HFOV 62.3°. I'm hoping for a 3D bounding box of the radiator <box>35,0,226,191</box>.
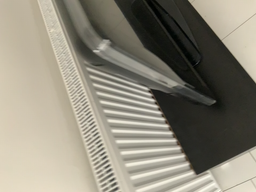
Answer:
[{"bbox_3d":[-0.070,-0.190,1.010,0.080,0.660,1.440,-39,60,25],"label":"radiator"}]
